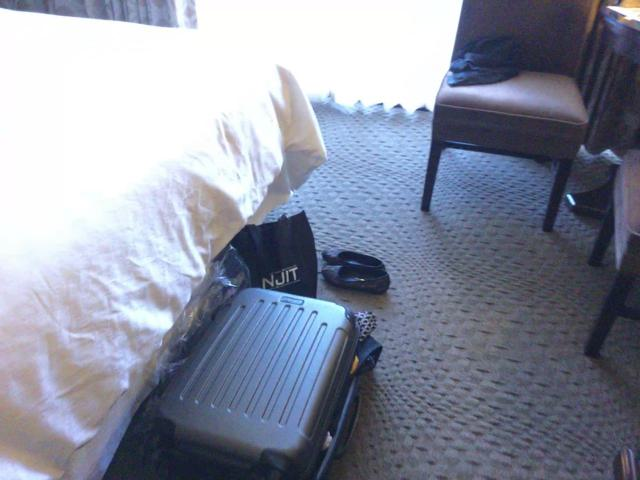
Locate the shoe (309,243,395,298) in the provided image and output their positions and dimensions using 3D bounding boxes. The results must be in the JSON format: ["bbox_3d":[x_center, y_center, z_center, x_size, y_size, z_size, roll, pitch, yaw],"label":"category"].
[{"bbox_3d":[0.110,0.100,1.960,0.260,0.050,0.160,11,37,11],"label":"shoe"}]
